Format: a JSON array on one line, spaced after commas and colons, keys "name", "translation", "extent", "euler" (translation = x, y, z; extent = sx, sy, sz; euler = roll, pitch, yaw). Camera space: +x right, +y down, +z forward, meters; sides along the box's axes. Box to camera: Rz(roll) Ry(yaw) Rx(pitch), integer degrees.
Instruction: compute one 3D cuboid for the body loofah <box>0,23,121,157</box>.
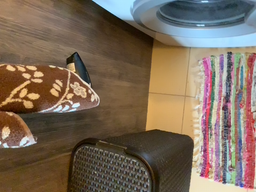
[{"name": "body loofah", "translation": [-0.330, -0.020, 0.310], "extent": [0.210, 0.830, 0.210], "euler": [9, 94, 30]}]
